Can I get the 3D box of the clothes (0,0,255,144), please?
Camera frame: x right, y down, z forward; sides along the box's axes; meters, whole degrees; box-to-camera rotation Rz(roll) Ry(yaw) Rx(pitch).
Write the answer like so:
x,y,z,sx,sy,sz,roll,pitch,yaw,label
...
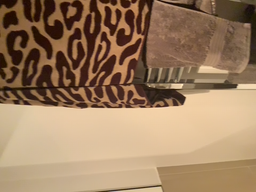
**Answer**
x,y,z,sx,sy,sz,roll,pitch,yaw,label
0.240,-0.180,0.650,0.280,1.930,0.560,-106,20,-50,clothes
